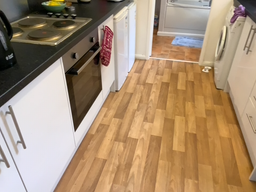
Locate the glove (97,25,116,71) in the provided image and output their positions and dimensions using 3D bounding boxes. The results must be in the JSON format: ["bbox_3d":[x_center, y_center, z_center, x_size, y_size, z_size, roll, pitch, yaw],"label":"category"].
[{"bbox_3d":[-0.180,-0.420,1.850,0.080,0.310,0.260,10,35,11],"label":"glove"}]

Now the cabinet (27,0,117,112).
[{"bbox_3d":[-0.480,-0.400,2.130,0.650,0.950,0.430,9,35,10],"label":"cabinet"}]
